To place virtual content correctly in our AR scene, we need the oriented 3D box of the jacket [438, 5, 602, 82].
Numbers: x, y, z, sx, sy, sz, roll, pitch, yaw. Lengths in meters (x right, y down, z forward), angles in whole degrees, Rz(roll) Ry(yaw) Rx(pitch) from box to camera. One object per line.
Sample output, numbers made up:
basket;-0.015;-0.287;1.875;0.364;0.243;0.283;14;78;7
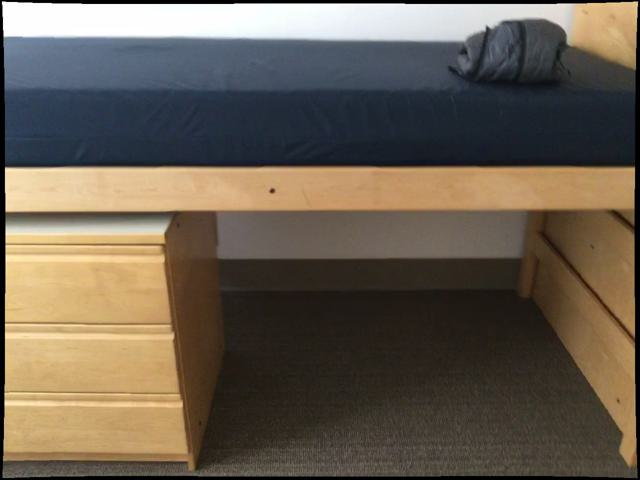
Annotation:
jacket;0.490;-0.531;1.520;0.240;0.130;0.500;-1;26;-2
